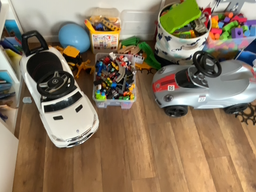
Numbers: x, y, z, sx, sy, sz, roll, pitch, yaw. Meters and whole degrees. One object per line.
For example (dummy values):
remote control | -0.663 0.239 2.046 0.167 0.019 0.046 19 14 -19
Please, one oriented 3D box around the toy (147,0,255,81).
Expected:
toy | 0.550 -0.430 1.560 0.700 0.460 0.400 -4 60 -8

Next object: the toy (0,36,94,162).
toy | -0.460 0.010 1.320 0.440 0.310 0.710 2 59 -5

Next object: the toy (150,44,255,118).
toy | 0.520 -0.090 1.450 0.660 0.310 0.390 1 59 -6

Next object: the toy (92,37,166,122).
toy | -0.010 -0.110 1.450 0.420 0.280 0.500 1 59 -5
